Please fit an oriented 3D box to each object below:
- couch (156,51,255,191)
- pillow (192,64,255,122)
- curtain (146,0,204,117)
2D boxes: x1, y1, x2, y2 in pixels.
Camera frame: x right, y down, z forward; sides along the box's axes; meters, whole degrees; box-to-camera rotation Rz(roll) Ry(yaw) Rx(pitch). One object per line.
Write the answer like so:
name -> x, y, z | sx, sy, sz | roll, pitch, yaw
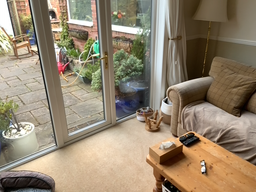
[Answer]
couch -> 1.590, 0.280, 2.140 | 1.240, 0.890, 2.360 | -19, 30, -34
pillow -> 1.130, -0.050, 2.510 | 0.490, 0.510, 0.220 | 29, -4, 44
curtain -> 0.650, -0.980, 2.900 | 0.710, 2.590, 0.240 | -15, 29, -28
